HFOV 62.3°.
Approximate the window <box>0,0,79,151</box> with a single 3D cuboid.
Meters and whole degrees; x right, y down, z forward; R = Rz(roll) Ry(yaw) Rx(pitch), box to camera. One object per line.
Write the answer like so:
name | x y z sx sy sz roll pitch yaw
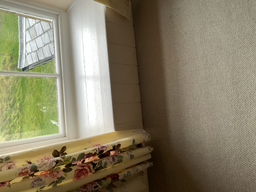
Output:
window | -0.890 -0.130 1.260 0.080 1.310 0.950 0 92 43
